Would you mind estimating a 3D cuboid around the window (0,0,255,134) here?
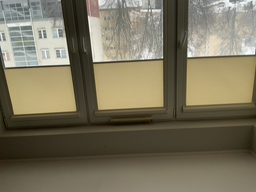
[{"bbox_3d":[0.050,-0.470,1.900,2.500,1.600,0.200,-3,-163,3],"label":"window"}]
